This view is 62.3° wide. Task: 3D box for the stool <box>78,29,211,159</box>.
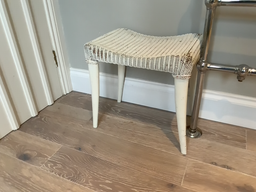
[{"bbox_3d":[0.090,-0.040,1.040,0.500,0.450,0.330,11,33,20],"label":"stool"}]
